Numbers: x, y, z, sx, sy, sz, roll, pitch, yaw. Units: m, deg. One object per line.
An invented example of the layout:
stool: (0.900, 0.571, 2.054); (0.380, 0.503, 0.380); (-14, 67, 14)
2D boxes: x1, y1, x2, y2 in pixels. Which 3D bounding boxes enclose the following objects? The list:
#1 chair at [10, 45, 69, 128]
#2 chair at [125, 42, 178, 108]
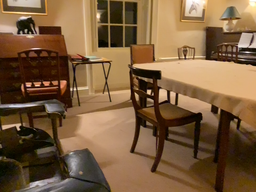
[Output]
chair: (-1.030, -0.150, 2.600); (0.520, 0.900, 0.510); (-5, 16, -15)
chair: (0.340, -0.370, 3.350); (0.590, 0.910, 0.580); (-6, 17, -23)
